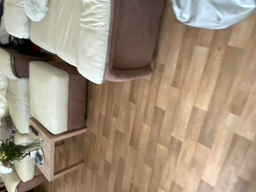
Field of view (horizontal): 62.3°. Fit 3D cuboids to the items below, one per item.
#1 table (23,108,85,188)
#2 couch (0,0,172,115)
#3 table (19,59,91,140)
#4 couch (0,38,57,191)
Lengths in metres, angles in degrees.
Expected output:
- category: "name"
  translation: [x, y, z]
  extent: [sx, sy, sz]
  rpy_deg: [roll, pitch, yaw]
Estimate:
- category: "table"
  translation: [-0.910, 0.590, 2.590]
  extent: [0.590, 0.470, 0.640]
  rpy_deg: [23, 114, 40]
- category: "couch"
  translation: [-0.630, -0.750, 1.650]
  extent: [1.600, 0.980, 0.970]
  rpy_deg: [31, 119, 37]
- category: "table"
  translation: [-0.820, -0.010, 2.350]
  extent: [0.600, 0.490, 0.670]
  rpy_deg: [25, 116, 39]
- category: "couch"
  translation: [-1.810, 0.400, 3.050]
  extent: [1.060, 1.000, 2.220]
  rpy_deg: [30, 118, 37]
